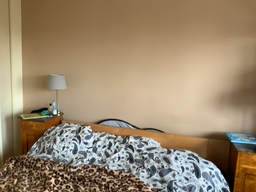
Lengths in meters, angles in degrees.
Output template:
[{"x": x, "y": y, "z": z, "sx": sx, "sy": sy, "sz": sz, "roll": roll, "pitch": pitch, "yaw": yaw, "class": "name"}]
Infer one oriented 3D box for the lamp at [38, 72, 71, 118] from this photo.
[{"x": -0.900, "y": -0.030, "z": 2.600, "sx": 0.270, "sy": 0.510, "sz": 0.260, "roll": 6, "pitch": 9, "yaw": 22, "class": "lamp"}]
